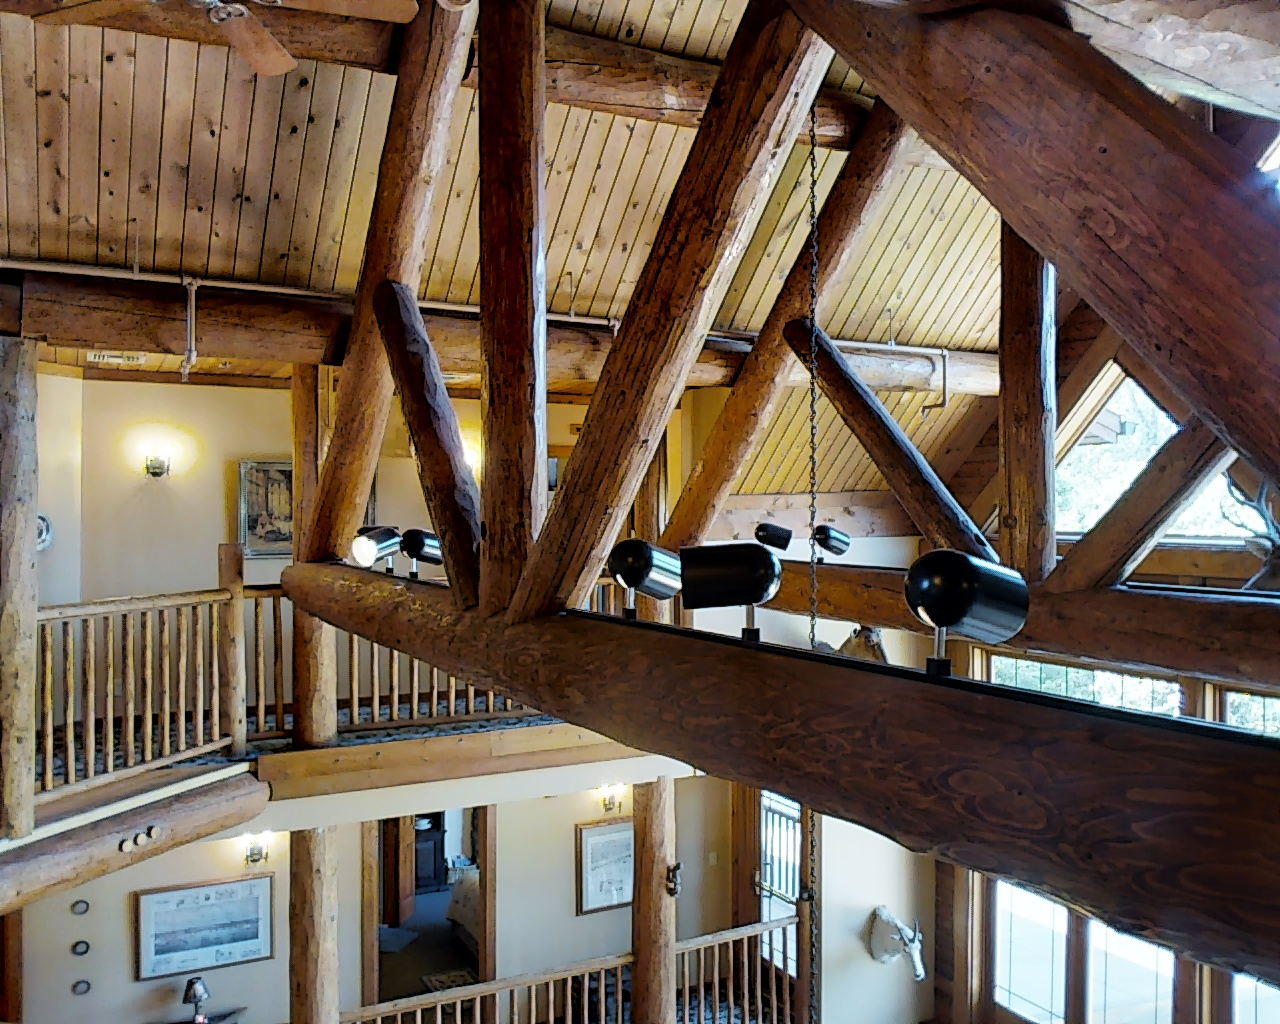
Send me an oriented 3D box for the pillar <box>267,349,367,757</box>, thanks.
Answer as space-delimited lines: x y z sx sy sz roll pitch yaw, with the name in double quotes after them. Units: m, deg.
-2.130 0.260 7.120 0.470 2.591 0.430 0 0 17 "pillar"
